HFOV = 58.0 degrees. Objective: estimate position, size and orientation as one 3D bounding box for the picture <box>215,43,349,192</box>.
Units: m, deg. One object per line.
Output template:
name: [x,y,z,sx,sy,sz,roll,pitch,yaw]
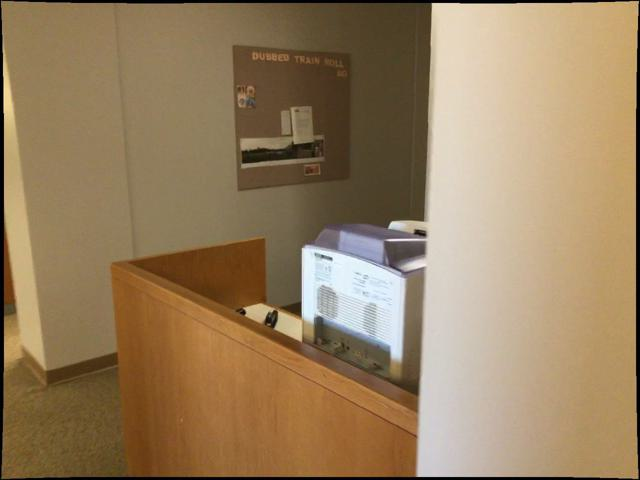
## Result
picture: [-0.229,-0.892,4.150,1.029,0.952,0.170,-14,18,-40]
